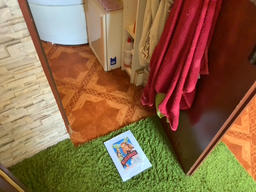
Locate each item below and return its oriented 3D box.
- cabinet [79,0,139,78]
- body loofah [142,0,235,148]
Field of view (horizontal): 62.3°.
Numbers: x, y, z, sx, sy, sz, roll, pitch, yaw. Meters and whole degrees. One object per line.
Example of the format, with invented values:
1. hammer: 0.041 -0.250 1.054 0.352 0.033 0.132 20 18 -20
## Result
1. cabinet: -0.170 -0.540 1.890 0.350 0.570 0.380 -21 56 -19
2. body loofah: 0.220 -0.210 0.990 0.120 1.320 0.350 -4 52 -6
